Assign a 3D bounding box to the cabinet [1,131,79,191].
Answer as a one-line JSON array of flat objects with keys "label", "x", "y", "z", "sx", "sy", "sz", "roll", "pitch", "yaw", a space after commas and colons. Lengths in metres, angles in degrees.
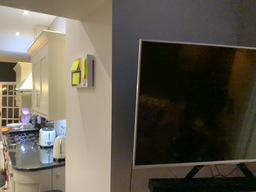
[{"label": "cabinet", "x": -1.330, "y": 1.120, "z": 2.920, "sx": 0.620, "sy": 0.910, "sz": 2.000, "roll": 0, "pitch": 1, "yaw": -33}]
